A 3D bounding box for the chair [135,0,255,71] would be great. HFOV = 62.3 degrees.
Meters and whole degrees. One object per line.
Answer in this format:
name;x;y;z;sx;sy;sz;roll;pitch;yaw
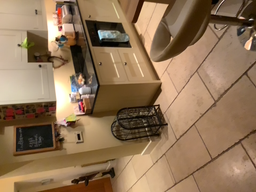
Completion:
chair;0.560;-0.460;1.420;0.480;0.860;0.470;159;107;-66
